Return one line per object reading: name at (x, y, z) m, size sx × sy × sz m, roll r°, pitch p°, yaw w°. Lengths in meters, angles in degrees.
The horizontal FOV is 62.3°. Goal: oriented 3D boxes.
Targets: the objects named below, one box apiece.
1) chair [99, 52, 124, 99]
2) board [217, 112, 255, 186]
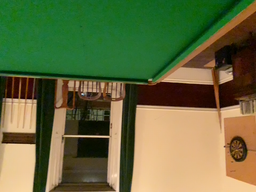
chair at (-0.330, -0.380, 4.190) m, size 0.430 × 0.820 × 0.510 m, roll 3°, pitch 171°, yaw -8°
board at (2.050, 0.950, 4.050) m, size 0.100 × 1.220 × 0.940 m, roll 4°, pitch 171°, yaw -12°
